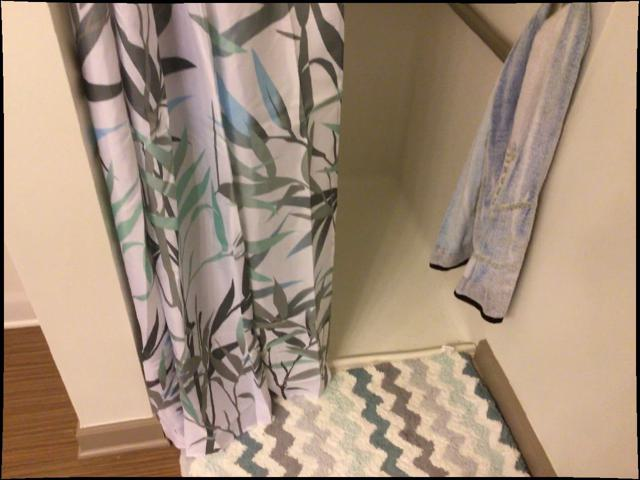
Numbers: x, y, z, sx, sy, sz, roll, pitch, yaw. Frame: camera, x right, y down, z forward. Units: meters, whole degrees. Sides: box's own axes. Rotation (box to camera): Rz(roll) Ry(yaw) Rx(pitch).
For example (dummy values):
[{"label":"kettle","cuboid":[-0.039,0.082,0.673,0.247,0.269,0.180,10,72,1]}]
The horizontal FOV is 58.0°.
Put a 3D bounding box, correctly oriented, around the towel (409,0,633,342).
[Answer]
[{"label":"towel","cuboid":[0.399,-0.190,1.370,0.190,0.851,0.380,-8,42,-8]}]
